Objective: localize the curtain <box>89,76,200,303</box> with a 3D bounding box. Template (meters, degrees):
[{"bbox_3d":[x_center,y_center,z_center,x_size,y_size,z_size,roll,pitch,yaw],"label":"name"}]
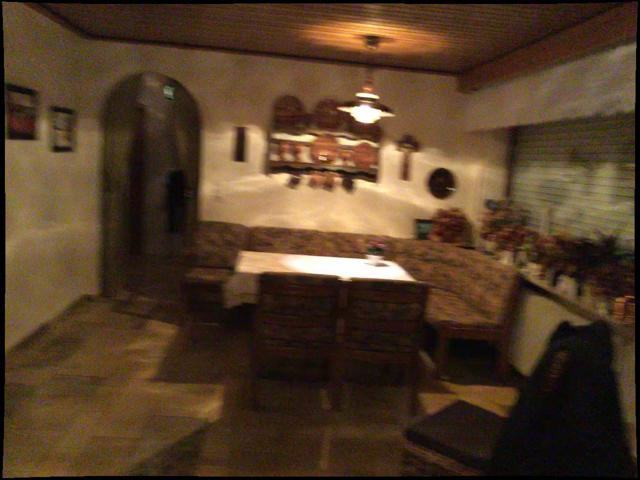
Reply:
[{"bbox_3d":[-1.688,-0.460,5.570,0.939,2.062,0.320,3,9,-5],"label":"curtain"}]

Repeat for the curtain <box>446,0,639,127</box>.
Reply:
[{"bbox_3d":[1.558,-1.041,3.430,0.360,0.611,4.060,3,9,-6],"label":"curtain"}]
